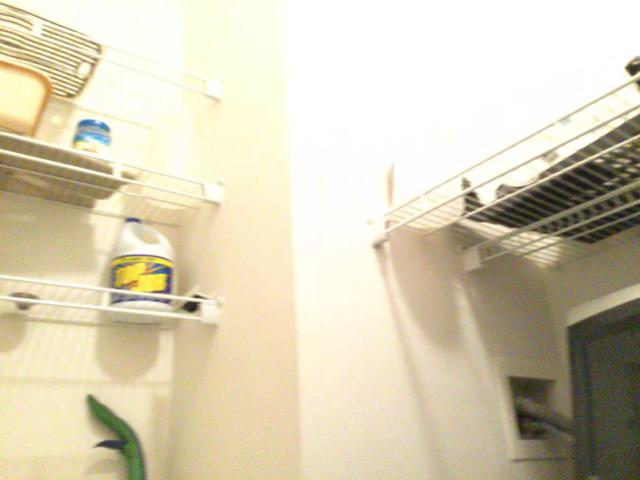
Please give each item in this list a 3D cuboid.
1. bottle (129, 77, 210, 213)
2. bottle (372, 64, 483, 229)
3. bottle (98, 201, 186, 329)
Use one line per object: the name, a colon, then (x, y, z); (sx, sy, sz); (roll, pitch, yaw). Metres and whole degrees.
bottle: (-0.400, -0.250, 1.550); (0.160, 0.310, 0.120); (11, -24, -32)
bottle: (0.230, -0.200, 1.270); (0.170, 0.300, 0.130); (12, -24, -32)
bottle: (-0.460, 0.070, 1.500); (0.160, 0.280, 0.150); (11, -24, -32)
